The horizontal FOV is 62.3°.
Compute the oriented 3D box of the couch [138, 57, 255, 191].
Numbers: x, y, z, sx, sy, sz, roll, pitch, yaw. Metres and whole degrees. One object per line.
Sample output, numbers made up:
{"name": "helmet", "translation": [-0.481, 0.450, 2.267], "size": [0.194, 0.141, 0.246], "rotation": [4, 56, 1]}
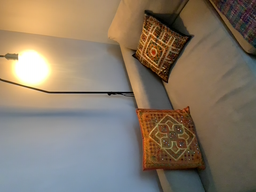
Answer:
{"name": "couch", "translation": [0.610, 0.310, 1.330], "size": [0.880, 0.650, 0.600], "rotation": [-55, 43, 48]}
